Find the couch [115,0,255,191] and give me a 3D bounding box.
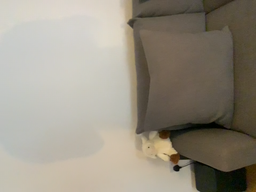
[{"bbox_3d":[0.510,-0.590,1.300,1.050,0.860,1.940,177,88,-68],"label":"couch"}]
